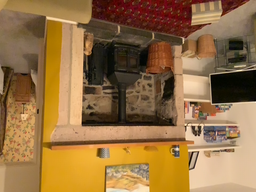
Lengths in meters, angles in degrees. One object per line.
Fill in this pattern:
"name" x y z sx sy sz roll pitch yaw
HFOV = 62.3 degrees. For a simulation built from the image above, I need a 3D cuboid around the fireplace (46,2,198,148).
"fireplace" -0.090 -0.170 3.210 2.040 1.690 0.880 3 171 -24
